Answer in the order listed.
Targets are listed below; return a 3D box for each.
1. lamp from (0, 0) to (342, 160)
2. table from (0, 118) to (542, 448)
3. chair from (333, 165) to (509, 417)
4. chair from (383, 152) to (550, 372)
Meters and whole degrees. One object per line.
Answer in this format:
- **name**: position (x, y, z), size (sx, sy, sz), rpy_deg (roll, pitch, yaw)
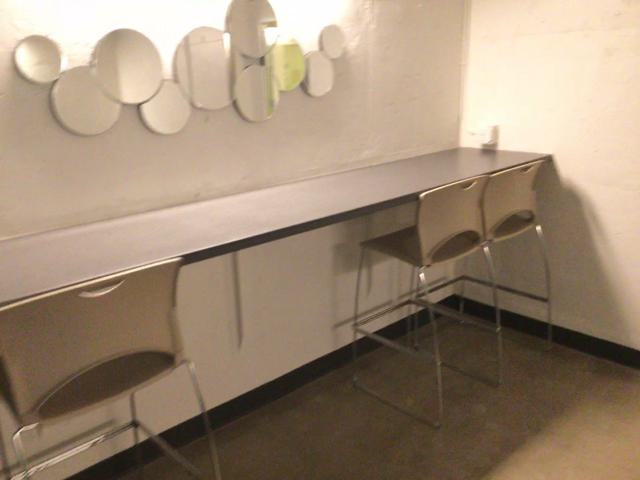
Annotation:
- **lamp**: position (-0.450, -0.690, 2.120), size (1.320, 0.620, 0.080), rpy_deg (-16, 18, -38)
- **table**: position (-0.290, 0.000, 2.050), size (2.990, 0.280, 0.680), rpy_deg (-16, 56, -40)
- **chair**: position (0.480, 0.180, 2.670), size (0.590, 0.950, 0.510), rpy_deg (-16, 19, -40)
- **chair**: position (0.750, 0.060, 2.970), size (0.540, 0.940, 0.600), rpy_deg (-16, 19, -40)
